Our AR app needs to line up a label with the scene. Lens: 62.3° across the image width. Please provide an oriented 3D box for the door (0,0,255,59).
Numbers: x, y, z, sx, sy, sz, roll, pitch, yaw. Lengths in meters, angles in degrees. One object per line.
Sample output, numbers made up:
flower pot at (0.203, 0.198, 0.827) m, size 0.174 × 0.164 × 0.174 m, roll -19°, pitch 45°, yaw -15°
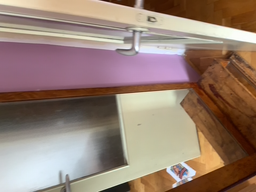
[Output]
door at (-0.080, -0.230, 0.840) m, size 0.780 × 2.040 × 0.080 m, roll 20°, pitch 110°, yaw 54°
